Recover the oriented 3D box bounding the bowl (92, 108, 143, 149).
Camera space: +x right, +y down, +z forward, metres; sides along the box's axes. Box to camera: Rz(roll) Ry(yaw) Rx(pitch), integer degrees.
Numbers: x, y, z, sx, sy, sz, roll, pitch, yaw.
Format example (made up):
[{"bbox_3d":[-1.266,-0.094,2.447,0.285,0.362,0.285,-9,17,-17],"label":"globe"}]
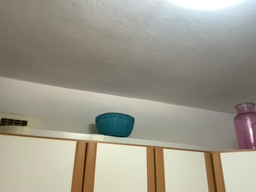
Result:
[{"bbox_3d":[-0.060,0.180,1.120,0.220,0.150,0.190,8,-25,-16],"label":"bowl"}]
